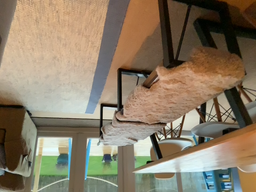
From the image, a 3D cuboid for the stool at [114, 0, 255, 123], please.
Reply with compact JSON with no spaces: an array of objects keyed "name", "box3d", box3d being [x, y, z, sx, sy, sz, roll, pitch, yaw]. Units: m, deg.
[{"name":"stool","box3d":[0.240,-0.180,1.340,0.450,0.470,0.820,6,156,-18]}]
